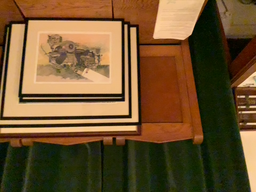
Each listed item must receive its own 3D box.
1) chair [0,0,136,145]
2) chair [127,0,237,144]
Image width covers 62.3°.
[{"bbox_3d":[-0.250,-0.320,1.100,0.520,1.070,0.390,0,160,-2],"label":"chair"},{"bbox_3d":[0.190,-0.320,1.120,0.360,1.070,0.400,0,160,-2],"label":"chair"}]
